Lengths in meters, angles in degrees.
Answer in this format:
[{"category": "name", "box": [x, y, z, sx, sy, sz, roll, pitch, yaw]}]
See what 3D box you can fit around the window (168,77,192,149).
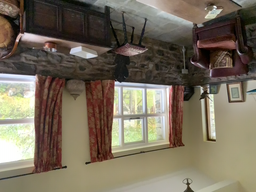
[{"category": "window", "box": [1.040, 0.320, 4.240, 0.400, 1.370, 0.200, 1, 176, -36]}]
